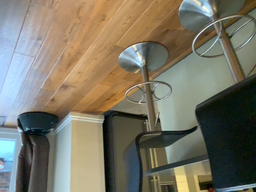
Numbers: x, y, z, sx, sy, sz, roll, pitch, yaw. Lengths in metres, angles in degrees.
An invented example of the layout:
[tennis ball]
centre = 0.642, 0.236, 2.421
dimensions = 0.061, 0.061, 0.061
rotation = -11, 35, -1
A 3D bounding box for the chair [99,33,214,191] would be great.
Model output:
[chair]
centre = 0.120, 0.150, 1.530
dimensions = 0.510, 1.030, 0.470
rotation = 6, 152, -23
